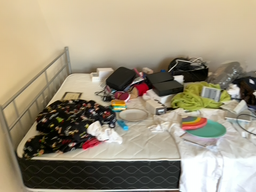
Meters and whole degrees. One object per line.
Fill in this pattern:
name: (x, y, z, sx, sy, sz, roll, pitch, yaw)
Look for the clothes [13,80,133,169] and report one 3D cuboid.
clothes: (-0.390, 0.110, 1.390, 0.570, 0.130, 0.670, -15, 29, -28)
